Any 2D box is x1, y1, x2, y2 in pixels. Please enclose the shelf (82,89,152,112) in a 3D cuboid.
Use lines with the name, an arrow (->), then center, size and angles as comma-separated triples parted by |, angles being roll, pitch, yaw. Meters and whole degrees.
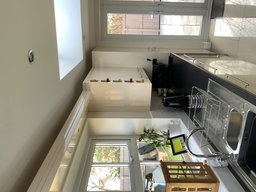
shelf -> -0.130, 0.050, 2.540 | 0.220, 0.800, 0.200 | -99, 10, -70
